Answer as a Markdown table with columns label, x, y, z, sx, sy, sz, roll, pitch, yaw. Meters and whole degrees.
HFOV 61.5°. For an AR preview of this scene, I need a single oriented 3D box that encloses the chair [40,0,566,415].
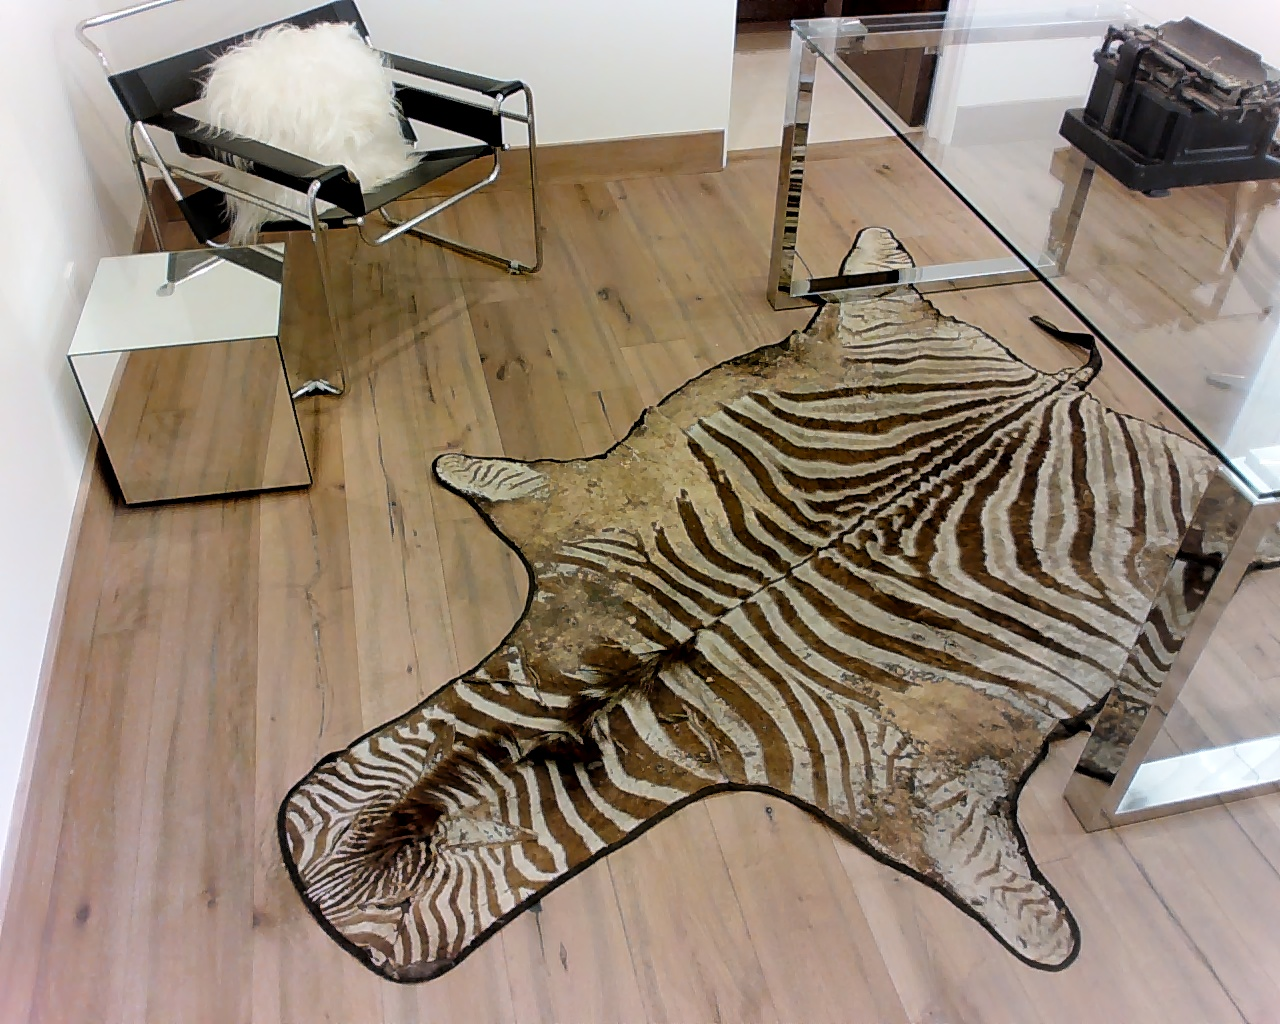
| label | x | y | z | sx | sy | sz | roll | pitch | yaw |
| --- | --- | --- | --- | --- | --- | --- | --- | --- | --- |
| chair | -0.790 | -0.900 | 2.800 | 0.790 | 0.730 | 0.890 | 24 | 47 | 24 |
